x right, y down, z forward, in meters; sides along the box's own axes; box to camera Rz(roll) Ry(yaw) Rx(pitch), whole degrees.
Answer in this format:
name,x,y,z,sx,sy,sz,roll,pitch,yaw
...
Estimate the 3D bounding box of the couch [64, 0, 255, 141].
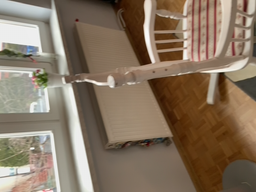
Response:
name,x,y,z,sx,sy,sz,roll,pitch,yaw
couch,0.340,-0.370,1.120,0.670,1.140,0.950,6,95,58
